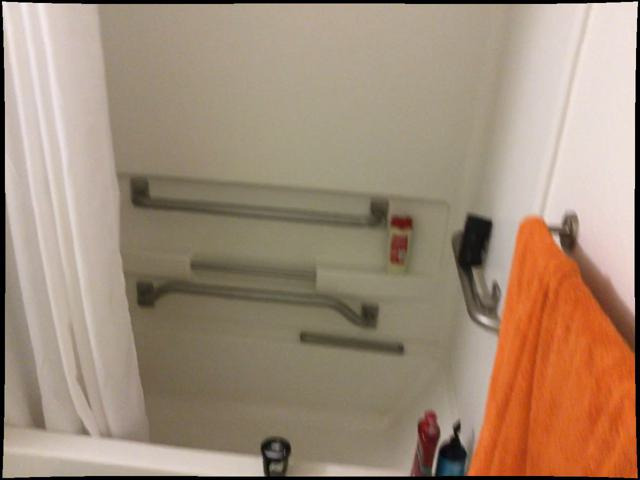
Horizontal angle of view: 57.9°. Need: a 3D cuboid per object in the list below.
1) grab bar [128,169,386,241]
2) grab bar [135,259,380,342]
[{"bbox_3d":[-0.210,-0.120,1.950,0.849,0.110,0.110,7,23,3],"label":"grab bar"},{"bbox_3d":[-0.220,0.210,2.060,0.849,0.140,0.130,7,23,3],"label":"grab bar"}]
